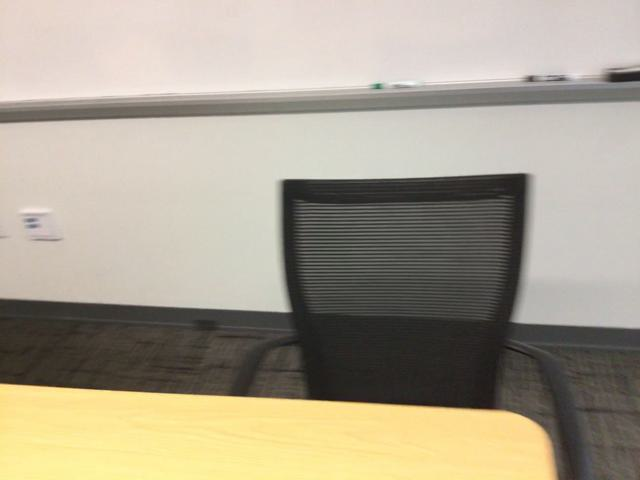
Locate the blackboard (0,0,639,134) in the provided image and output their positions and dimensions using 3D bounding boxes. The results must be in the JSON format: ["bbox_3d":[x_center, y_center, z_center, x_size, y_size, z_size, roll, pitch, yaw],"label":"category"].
[{"bbox_3d":[-0.740,-0.550,1.740,3.580,0.430,0.130,2,29,15],"label":"blackboard"}]
